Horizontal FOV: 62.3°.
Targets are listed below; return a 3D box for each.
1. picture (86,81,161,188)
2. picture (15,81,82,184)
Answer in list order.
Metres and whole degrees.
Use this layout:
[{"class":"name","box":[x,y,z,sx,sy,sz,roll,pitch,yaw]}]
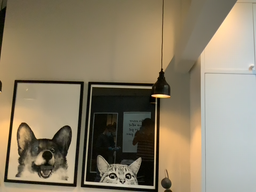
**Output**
[{"class":"picture","box":[-0.040,0.360,2.100,0.710,1.010,0.010,1,-7,3]},{"class":"picture","box":[-0.810,0.340,2.170,0.640,1.000,0.050,1,-7,11]}]
